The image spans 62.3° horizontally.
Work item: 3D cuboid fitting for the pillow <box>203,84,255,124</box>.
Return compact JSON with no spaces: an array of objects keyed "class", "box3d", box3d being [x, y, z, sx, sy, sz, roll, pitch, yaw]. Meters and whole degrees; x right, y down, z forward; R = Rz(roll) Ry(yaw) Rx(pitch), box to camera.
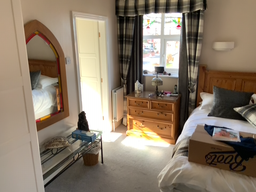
[{"class":"pillow","box3d":[1.660,0.110,2.780,1.220,0.390,0.380,6,17,22]}]
